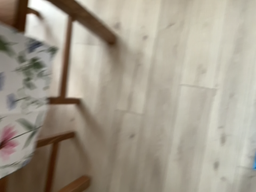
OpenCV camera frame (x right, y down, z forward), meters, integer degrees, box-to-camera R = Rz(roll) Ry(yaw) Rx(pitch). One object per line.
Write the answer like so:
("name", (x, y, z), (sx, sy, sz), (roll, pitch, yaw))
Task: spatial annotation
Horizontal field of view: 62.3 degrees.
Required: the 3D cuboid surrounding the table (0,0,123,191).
("table", (-0.720, -0.080, 0.830), (1.150, 0.700, 0.750), (8, 91, 16))
